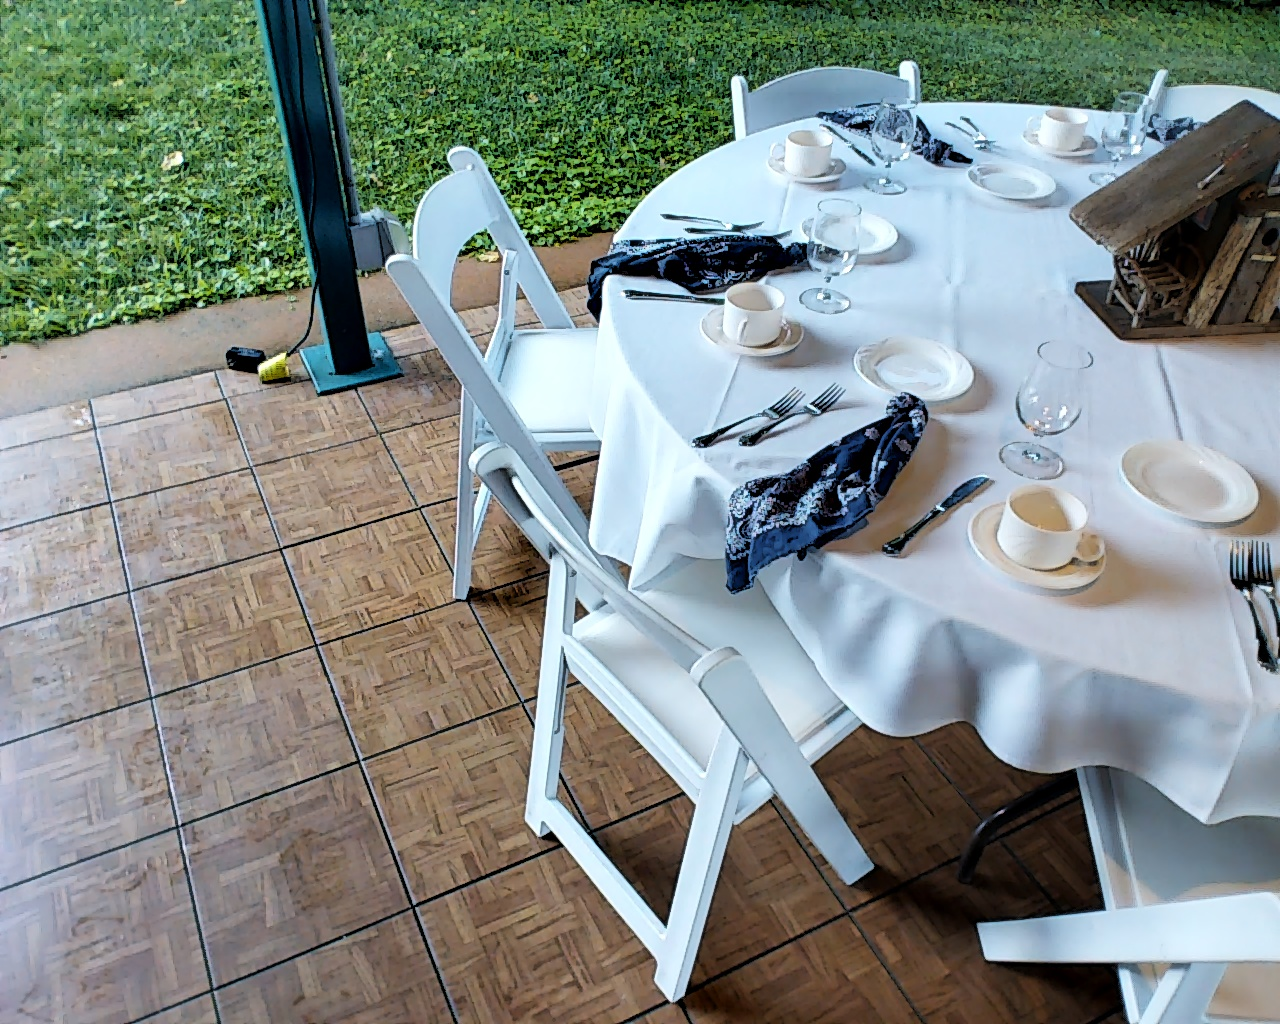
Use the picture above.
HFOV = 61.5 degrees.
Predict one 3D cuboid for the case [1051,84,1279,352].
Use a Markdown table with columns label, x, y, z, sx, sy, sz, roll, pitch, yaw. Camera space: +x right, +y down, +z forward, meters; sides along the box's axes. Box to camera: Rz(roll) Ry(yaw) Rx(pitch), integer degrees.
| label | x | y | z | sx | sy | sz | roll | pitch | yaw |
| --- | --- | --- | --- | --- | --- | --- | --- | --- | --- |
| case | 0.850 | -0.430 | 1.550 | 0.380 | 0.280 | 0.200 | -11 | 43 | -13 |
